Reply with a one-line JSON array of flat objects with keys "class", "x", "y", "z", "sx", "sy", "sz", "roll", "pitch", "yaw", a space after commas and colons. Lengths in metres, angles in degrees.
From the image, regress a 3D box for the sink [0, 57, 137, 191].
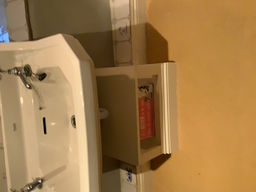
[{"class": "sink", "x": -0.260, "y": 0.220, "z": 0.840, "sx": 0.470, "sy": 0.350, "sz": 0.710, "roll": 7, "pitch": 100, "yaw": 41}]
